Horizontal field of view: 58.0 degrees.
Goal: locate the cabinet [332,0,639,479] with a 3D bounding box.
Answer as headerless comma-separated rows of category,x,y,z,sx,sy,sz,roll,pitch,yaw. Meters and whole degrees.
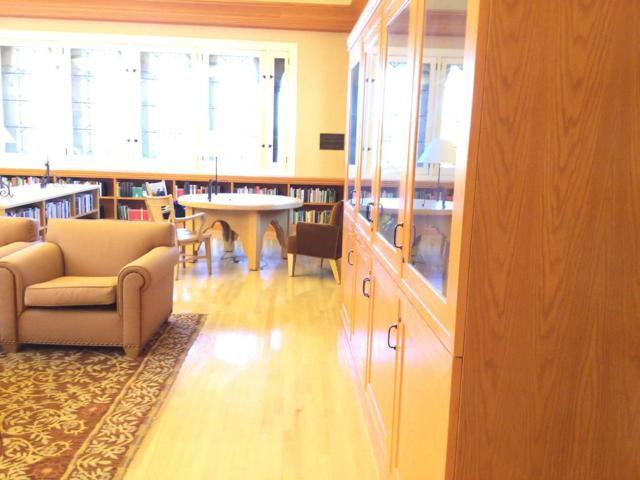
cabinet,0.550,0.010,2.140,0.680,2.240,1.580,5,8,-4
